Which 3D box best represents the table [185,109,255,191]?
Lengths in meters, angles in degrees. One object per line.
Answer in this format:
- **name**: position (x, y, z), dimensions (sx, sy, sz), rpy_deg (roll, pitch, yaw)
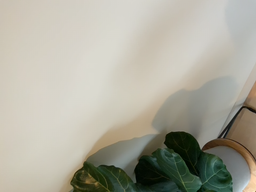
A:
- **table**: position (0.690, 0.380, 1.270), dimensions (0.370, 0.470, 0.390), rpy_deg (39, 126, 39)
